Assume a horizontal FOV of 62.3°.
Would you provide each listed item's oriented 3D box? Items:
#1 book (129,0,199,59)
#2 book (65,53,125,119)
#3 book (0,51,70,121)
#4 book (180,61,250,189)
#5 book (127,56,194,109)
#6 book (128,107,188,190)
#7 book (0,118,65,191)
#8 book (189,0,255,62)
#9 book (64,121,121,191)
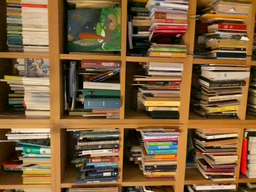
[{"bbox_3d":[0.220,-0.460,1.410,0.300,0.380,0.380,-143,54,-82],"label":"book"},{"bbox_3d":[-0.210,-0.070,1.390,0.230,0.350,0.390,-123,35,-79],"label":"book"},{"bbox_3d":[-0.590,-0.070,1.330,0.290,0.400,0.390,-127,38,-80],"label":"book"},{"bbox_3d":[0.600,0.190,1.530,0.290,0.300,0.850,-129,40,-80],"label":"book"},{"bbox_3d":[0.200,-0.100,1.450,0.300,0.370,0.320,-123,35,-79],"label":"book"},{"bbox_3d":[0.190,0.350,1.510,0.300,0.330,0.490,-127,38,-80],"label":"book"},{"bbox_3d":[-0.630,0.370,1.410,0.300,0.350,0.380,-127,38,-80],"label":"book"},{"bbox_3d":[0.630,-0.600,1.430,0.290,0.300,0.700,-143,54,-82],"label":"book"},{"bbox_3d":[-0.230,0.390,1.430,0.310,0.330,0.370,-131,43,-81],"label":"book"}]
